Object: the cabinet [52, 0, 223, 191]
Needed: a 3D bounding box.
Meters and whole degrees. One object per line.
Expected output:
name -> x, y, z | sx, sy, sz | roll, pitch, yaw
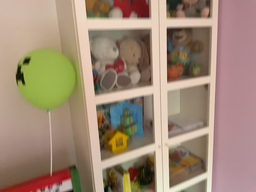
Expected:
cabinet -> 0.120, 0.270, 1.270 | 0.820, 2.030, 0.330 | -11, 16, -28
